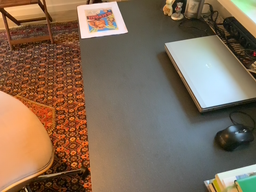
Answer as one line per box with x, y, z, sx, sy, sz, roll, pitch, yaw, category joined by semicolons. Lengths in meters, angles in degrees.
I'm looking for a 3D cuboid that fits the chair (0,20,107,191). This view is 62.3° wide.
-0.540;0.280;0.910;0.620;0.830;0.590;-32;56;-23;chair
